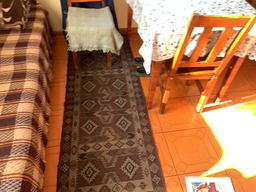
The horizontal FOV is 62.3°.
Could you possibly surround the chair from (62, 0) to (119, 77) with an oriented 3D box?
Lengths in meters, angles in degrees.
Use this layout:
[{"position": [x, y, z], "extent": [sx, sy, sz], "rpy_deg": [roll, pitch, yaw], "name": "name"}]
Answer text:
[{"position": [-0.360, -0.740, 1.960], "extent": [0.410, 0.850, 0.660], "rpy_deg": [-8, 48, -11], "name": "chair"}]
